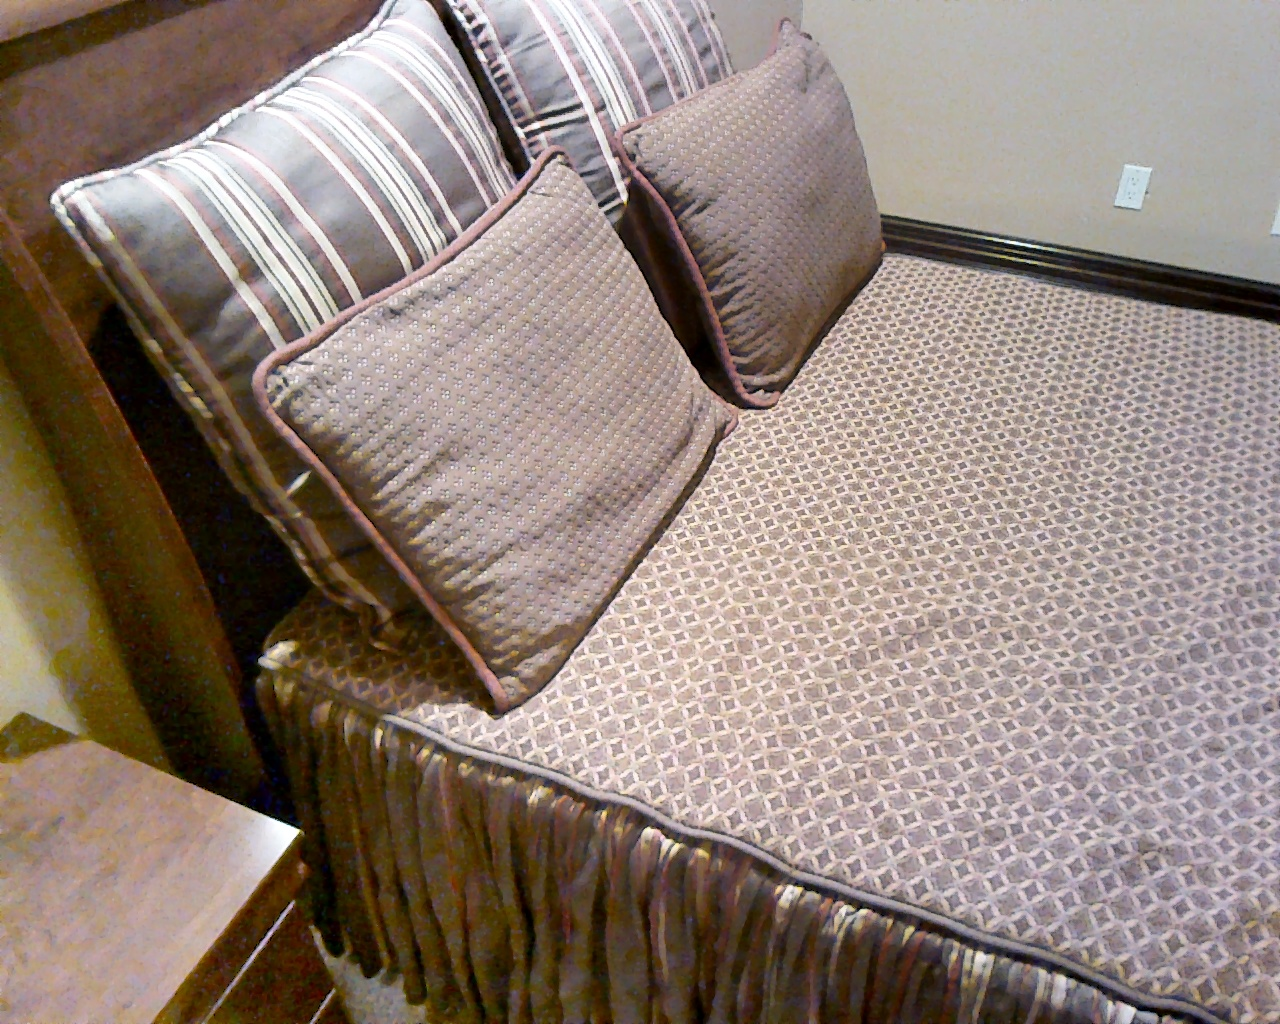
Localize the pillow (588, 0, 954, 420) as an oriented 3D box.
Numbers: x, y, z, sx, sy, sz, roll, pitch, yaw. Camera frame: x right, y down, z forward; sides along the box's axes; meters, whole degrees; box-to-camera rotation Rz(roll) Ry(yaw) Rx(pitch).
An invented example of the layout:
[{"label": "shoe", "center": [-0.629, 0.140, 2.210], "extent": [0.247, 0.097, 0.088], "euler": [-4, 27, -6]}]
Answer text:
[{"label": "pillow", "center": [0.250, -0.510, 1.720], "extent": [0.210, 0.410, 0.650], "euler": [-10, 30, 39]}]

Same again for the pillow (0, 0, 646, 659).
[{"label": "pillow", "center": [-0.300, -0.290, 1.320], "extent": [0.220, 0.560, 0.730], "euler": [10, 41, 27]}]

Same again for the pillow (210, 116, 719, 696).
[{"label": "pillow", "center": [-0.150, -0.170, 1.330], "extent": [0.240, 0.390, 0.660], "euler": [17, 44, 21]}]
